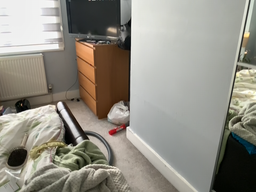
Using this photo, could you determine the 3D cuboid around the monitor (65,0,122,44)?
[{"bbox_3d":[-0.450,-0.960,2.680,0.800,0.520,0.060,12,23,23],"label":"monitor"}]
